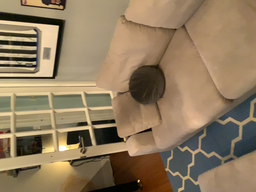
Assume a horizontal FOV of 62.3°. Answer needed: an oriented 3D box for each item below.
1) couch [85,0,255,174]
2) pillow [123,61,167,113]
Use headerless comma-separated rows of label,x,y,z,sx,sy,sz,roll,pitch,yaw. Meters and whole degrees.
couch,0.360,-0.250,1.610,2.060,0.830,0.950,122,138,-49
pillow,0.130,-0.070,1.860,0.370,0.180,0.280,123,138,-50
